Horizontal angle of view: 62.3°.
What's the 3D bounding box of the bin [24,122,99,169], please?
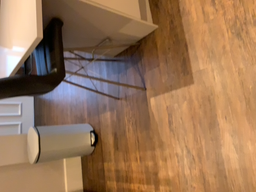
[{"bbox_3d":[-0.690,0.490,2.230,0.390,0.640,0.380,-15,77,49],"label":"bin"}]
